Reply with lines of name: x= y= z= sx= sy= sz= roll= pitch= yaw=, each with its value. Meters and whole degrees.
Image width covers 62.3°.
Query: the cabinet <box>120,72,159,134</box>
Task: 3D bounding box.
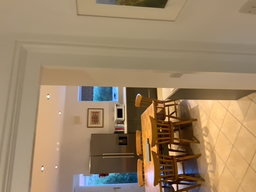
cabinet: x=0.270 y=0.200 z=5.860 sx=0.580 sy=0.890 sz=1.590 roll=117 pitch=152 yaw=-70

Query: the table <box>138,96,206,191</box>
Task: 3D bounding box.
table: x=0.690 y=0.880 z=3.790 sx=0.940 sy=0.750 sz=1.530 roll=116 pitch=153 yaw=-70
